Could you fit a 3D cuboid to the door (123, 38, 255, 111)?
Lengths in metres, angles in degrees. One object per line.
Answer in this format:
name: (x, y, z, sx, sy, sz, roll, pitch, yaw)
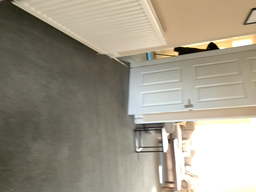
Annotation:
door: (0.930, -0.300, 3.080, 0.070, 2.060, 0.910, 53, 36, -61)
